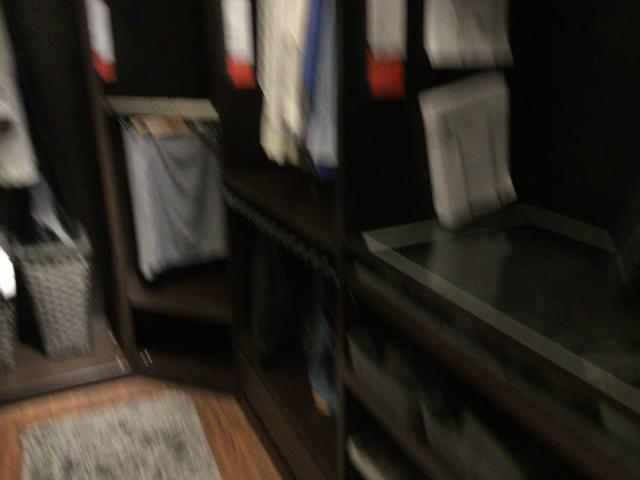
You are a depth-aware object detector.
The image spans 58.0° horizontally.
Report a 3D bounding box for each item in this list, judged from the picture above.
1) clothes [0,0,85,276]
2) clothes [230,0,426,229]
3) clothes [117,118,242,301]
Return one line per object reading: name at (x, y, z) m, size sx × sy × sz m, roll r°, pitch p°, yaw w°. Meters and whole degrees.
clothes at (-1.280, -0.570, 2.350) m, size 0.380 × 1.340 × 0.430 m, roll -10°, pitch 20°, yaw -25°
clothes at (-0.010, -0.600, 1.650) m, size 0.300 × 0.980 × 0.630 m, roll -10°, pitch 20°, yaw -24°
clothes at (-0.630, -0.160, 2.580) m, size 0.420 × 0.690 × 0.440 m, roll -8°, pitch 19°, yaw -20°
